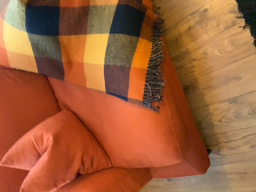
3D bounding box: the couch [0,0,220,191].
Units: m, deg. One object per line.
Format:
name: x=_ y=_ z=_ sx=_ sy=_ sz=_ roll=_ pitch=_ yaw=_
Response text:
couch: x=-0.300 y=0.070 z=1.080 sx=0.990 sy=0.840 sz=0.990 roll=-21 pitch=86 yaw=36
